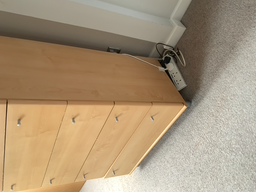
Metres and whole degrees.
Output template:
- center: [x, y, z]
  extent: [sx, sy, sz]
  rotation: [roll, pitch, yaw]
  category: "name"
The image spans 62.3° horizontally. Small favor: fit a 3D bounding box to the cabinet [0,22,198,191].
- center: [-0.370, 0.140, 1.340]
  extent: [0.860, 1.210, 0.530]
  rotation: [-61, 40, 37]
  category: "cabinet"
